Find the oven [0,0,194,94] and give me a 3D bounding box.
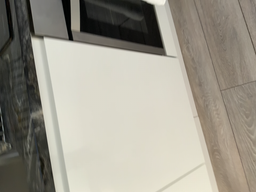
[{"bbox_3d":[-0.220,-0.390,1.050,0.580,0.900,0.600,-20,79,42],"label":"oven"}]
